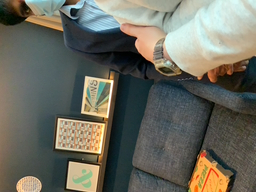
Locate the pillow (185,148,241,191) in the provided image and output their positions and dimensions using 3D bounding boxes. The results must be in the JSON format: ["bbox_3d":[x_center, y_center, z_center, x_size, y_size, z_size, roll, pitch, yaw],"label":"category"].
[{"bbox_3d":[0.540,0.620,1.420,0.390,0.070,0.380,-120,39,-71],"label":"pillow"}]

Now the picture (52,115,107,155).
[{"bbox_3d":[-0.430,0.350,1.890,0.040,0.420,0.290,-142,66,-72],"label":"picture"}]
